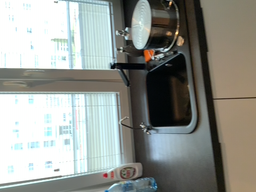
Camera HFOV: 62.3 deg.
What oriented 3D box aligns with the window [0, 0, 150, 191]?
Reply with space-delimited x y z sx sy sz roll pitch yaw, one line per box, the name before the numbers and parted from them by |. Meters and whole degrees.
window | -0.640 -0.100 1.300 0.150 1.460 1.490 146 121 -66
